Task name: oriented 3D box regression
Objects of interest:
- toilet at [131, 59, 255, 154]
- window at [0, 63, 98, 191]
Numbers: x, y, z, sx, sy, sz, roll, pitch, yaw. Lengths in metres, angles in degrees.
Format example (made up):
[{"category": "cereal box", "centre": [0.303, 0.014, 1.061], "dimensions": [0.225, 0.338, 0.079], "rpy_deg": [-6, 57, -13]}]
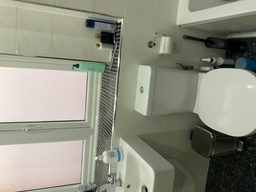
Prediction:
[{"category": "toilet", "centre": [0.530, 0.010, 1.300], "dimensions": [0.660, 0.780, 0.380], "rpy_deg": [-158, 73, -64]}, {"category": "window", "centre": [-0.850, 0.300, 1.710], "dimensions": [0.210, 1.110, 1.090], "rpy_deg": [-154, 68, -64]}]
